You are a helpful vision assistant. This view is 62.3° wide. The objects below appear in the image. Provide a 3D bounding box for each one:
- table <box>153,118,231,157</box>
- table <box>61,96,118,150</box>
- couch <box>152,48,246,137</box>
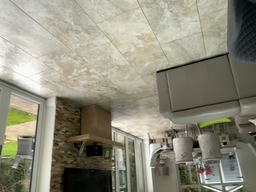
[{"bbox_3d":[1.890,1.310,6.380,2.000,0.760,1.060,-11,157,19],"label":"table"},{"bbox_3d":[-0.680,0.580,4.120,0.500,0.730,1.260,-11,157,18],"label":"table"},{"bbox_3d":[0.990,0.050,3.050,0.970,0.800,1.070,-11,157,19],"label":"couch"}]
